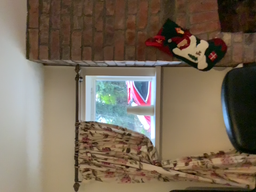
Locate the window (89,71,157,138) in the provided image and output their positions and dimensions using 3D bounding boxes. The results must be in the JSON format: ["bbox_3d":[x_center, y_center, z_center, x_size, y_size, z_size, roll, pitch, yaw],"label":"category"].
[{"bbox_3d":[-0.050,0.090,2.280,0.070,0.710,0.720,-89,-1,-87],"label":"window"}]
